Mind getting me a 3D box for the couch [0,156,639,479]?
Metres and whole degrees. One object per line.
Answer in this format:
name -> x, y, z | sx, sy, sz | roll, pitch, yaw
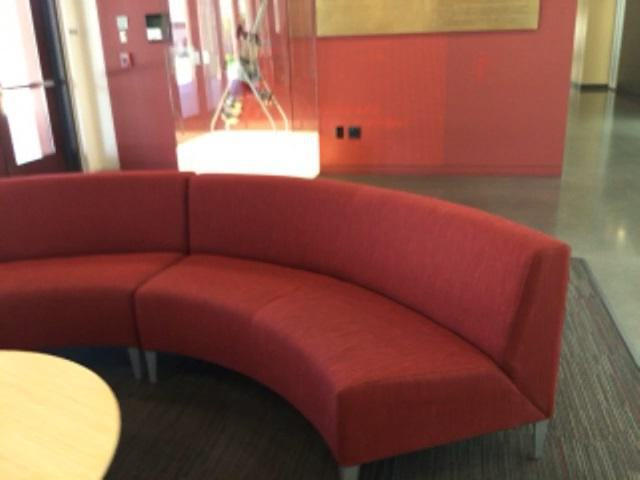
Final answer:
couch -> -0.630, 0.190, 2.350 | 3.120, 0.790, 1.300 | 3, 18, 15
